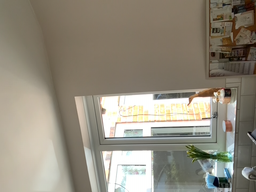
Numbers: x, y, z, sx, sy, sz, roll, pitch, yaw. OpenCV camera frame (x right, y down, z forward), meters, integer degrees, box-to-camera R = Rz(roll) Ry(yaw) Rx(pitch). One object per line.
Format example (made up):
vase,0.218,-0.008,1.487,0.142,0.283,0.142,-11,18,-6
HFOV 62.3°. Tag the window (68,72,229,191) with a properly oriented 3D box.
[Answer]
window,0.200,0.500,1.920,0.280,1.220,1.320,-65,-29,-72
